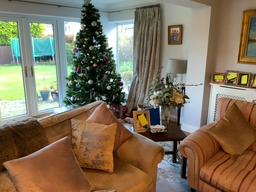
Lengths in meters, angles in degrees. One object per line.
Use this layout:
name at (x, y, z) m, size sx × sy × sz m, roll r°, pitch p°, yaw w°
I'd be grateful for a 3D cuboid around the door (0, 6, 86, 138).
door at (-2.110, -0.480, 4.190) m, size 0.200 × 2.350 × 3.020 m, roll 11°, pitch 18°, yaw 37°

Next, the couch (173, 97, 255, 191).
couch at (1.370, 0.640, 1.860) m, size 1.610 × 0.850 × 0.960 m, roll 12°, pitch 19°, yaw 40°

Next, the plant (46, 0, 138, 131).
plant at (-0.620, -0.670, 4.190) m, size 1.080 × 2.200 × 1.320 m, roll 10°, pitch 17°, yaw 34°
